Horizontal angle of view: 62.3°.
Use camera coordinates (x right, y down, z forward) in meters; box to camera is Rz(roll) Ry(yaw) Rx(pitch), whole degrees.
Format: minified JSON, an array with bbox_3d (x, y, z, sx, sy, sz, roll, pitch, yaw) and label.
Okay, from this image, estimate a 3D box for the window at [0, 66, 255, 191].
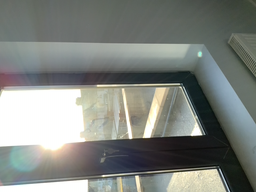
[{"bbox_3d":[-0.090,0.270,1.020,0.130,1.240,1.110,99,166,-48],"label":"window"}]
